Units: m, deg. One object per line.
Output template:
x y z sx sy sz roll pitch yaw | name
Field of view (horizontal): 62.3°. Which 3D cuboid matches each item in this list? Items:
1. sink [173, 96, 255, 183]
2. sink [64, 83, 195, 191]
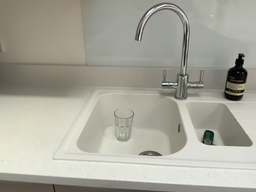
0.300 0.140 0.810 0.200 0.150 0.330 2 24 4 | sink
0.020 0.140 0.860 0.360 0.200 0.520 2 24 4 | sink
